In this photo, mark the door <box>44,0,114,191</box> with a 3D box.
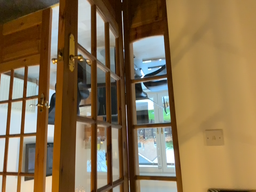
[{"bbox_3d":[-0.230,-0.080,1.230,0.100,2.200,0.770,-4,168,6],"label":"door"}]
